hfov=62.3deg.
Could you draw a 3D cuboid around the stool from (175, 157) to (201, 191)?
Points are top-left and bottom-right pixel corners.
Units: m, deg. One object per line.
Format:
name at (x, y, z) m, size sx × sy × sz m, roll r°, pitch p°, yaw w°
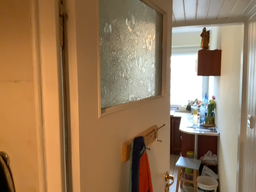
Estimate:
stool at (0.900, 1.180, 3.170) m, size 0.320 × 0.390 × 0.320 m, roll 2°, pitch 6°, yaw 23°
